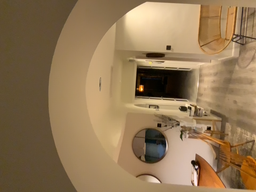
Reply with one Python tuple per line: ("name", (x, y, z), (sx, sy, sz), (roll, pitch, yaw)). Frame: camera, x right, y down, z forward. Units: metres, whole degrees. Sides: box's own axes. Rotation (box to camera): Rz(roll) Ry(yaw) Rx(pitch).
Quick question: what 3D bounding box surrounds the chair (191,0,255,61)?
("chair", (1.670, -1.390, 3.570), (0.730, 0.880, 1.450), (-73, -13, -85))
